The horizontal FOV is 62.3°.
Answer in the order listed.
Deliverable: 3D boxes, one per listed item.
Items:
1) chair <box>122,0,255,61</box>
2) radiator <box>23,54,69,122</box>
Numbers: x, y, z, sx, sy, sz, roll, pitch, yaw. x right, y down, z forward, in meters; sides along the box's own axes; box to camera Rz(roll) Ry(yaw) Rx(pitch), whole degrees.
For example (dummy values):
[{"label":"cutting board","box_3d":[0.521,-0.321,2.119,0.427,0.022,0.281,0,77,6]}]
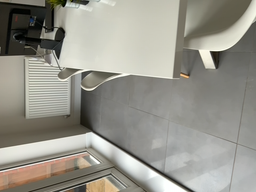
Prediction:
[{"label":"chair","box_3d":[0.460,-0.510,1.060,0.600,0.750,0.620,12,102,51]},{"label":"radiator","box_3d":[-1.110,-0.110,2.880,0.150,0.550,0.860,17,106,50]}]
